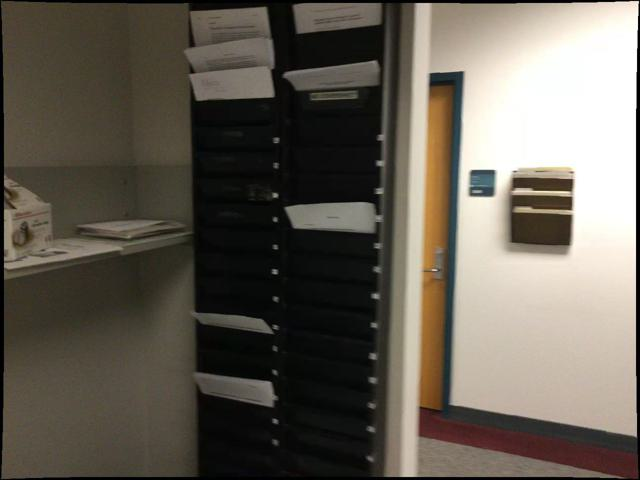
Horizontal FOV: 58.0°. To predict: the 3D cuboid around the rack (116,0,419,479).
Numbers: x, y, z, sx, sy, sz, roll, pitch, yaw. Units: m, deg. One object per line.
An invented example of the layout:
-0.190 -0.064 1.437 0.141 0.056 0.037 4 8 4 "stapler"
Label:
-0.100 0.221 1.410 0.619 1.614 0.140 0 10 24 "rack"
